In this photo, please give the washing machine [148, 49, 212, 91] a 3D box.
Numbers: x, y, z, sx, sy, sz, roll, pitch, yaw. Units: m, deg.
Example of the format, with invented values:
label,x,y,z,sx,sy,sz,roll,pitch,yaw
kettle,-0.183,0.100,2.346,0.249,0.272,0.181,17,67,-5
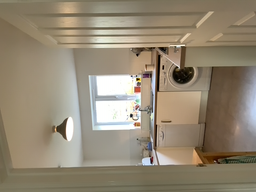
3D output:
label,x,y,z,sx,sy,sz,roll,pitch,yaw
washing machine,0.830,-0.470,3.620,0.610,0.900,0.580,-94,3,-71
